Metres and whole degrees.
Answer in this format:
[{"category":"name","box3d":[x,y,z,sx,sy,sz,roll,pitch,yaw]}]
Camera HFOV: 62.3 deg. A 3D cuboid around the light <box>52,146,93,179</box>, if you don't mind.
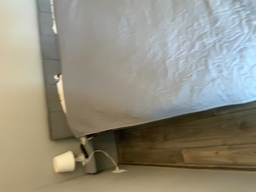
[{"category":"light","box3d":[-0.530,0.620,2.010,0.170,0.310,0.230,-24,74,53]}]
